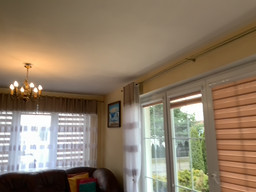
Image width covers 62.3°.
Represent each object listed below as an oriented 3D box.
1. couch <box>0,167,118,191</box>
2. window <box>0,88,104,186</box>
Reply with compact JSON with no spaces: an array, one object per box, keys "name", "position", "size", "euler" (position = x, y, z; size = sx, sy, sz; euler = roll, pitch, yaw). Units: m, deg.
[{"name":"couch","position":[-1.420,2.010,4.320],"size":[2.230,0.850,0.980],"euler":[5,-12,-24]},{"name":"window","position":[-2.080,0.940,5.070],"size":[3.100,2.070,0.240],"euler":[6,-12,-29]}]
